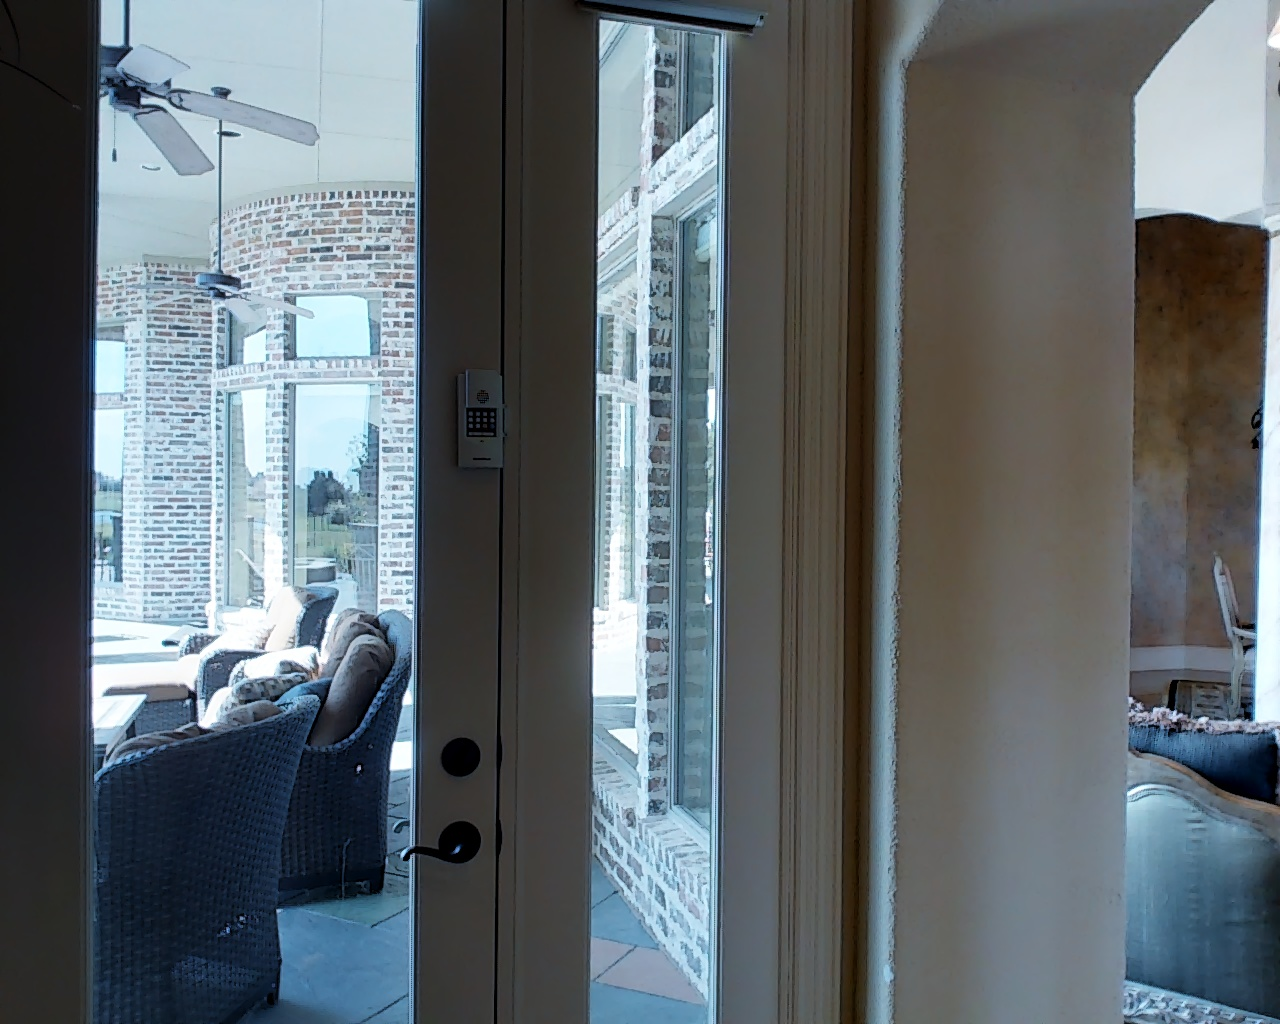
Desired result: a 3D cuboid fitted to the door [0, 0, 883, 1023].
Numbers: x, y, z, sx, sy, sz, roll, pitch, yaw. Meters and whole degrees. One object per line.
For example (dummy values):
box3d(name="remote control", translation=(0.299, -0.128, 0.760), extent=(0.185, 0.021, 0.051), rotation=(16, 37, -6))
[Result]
box3d(name="door", translation=(-0.340, 0.170, 1.850), extent=(1.480, 2.711, 0.330), rotation=(1, 0, -16))
